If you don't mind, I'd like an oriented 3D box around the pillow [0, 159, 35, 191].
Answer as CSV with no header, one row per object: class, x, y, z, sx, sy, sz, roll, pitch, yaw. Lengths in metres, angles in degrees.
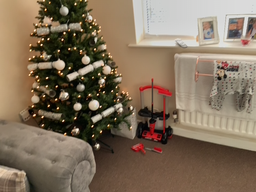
pillow,-0.720,0.530,1.220,0.350,0.250,0.140,5,7,25
